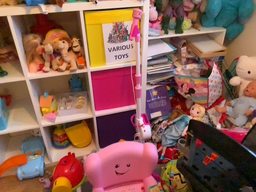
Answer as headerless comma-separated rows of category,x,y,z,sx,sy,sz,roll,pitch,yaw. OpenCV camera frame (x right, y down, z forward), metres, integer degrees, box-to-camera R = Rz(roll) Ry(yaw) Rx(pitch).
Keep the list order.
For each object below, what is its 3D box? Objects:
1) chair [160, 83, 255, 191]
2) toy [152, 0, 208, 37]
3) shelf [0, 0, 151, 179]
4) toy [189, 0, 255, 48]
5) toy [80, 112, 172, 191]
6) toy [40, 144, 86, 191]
chair,0.480,0.410,1.030,0.400,0.740,0.470,-21,37,-29
toy,0.370,-0.660,1.520,0.330,0.390,0.190,-9,33,-14
shelf,-0.640,-0.050,1.440,1.480,1.090,0.430,-10,33,-14
toy,0.700,-0.770,1.480,0.290,0.750,0.340,-8,33,-12
toy,-0.040,0.440,1.300,0.420,0.450,0.440,-8,33,-12
toy,-0.410,0.520,1.390,0.240,0.180,0.340,-7,33,-11
